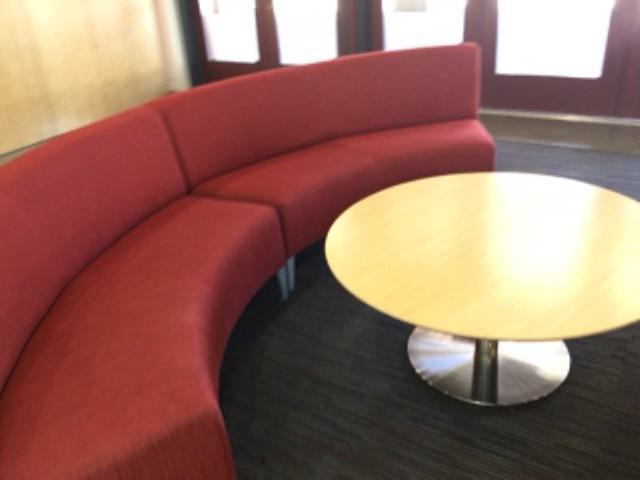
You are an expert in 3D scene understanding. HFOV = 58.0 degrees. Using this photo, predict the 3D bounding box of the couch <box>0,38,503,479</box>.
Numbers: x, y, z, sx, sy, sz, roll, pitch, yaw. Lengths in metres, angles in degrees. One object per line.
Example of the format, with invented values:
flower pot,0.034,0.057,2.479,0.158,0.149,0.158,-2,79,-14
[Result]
couch,-0.250,-0.080,2.220,1.300,0.810,2.940,6,29,26
